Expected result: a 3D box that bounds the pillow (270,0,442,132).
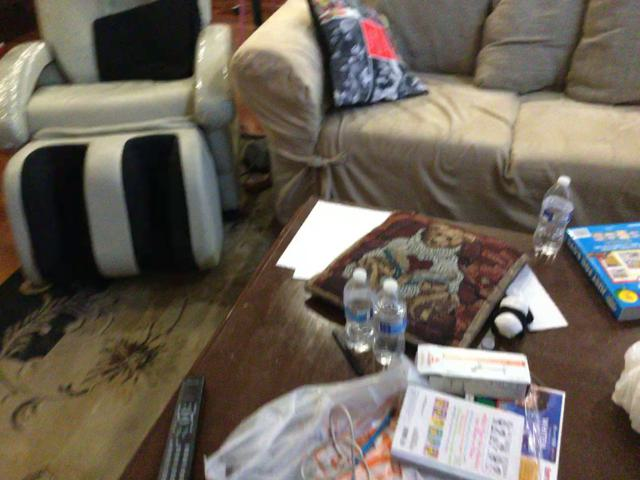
[{"bbox_3d":[0.140,-0.640,1.860,0.400,0.350,0.490,10,40,18],"label":"pillow"}]
